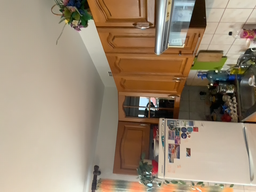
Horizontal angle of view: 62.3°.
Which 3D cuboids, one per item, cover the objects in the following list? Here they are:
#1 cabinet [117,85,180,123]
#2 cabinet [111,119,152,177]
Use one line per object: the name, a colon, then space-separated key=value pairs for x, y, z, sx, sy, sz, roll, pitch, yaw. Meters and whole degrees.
cabinet: x=0.250 y=0.090 z=2.690 sx=0.390 sy=0.720 sz=0.320 roll=-72 pitch=-17 yaw=-69
cabinet: x=0.060 y=0.640 z=2.600 sx=0.310 sy=0.420 sz=0.620 roll=78 pitch=-164 yaw=-68
